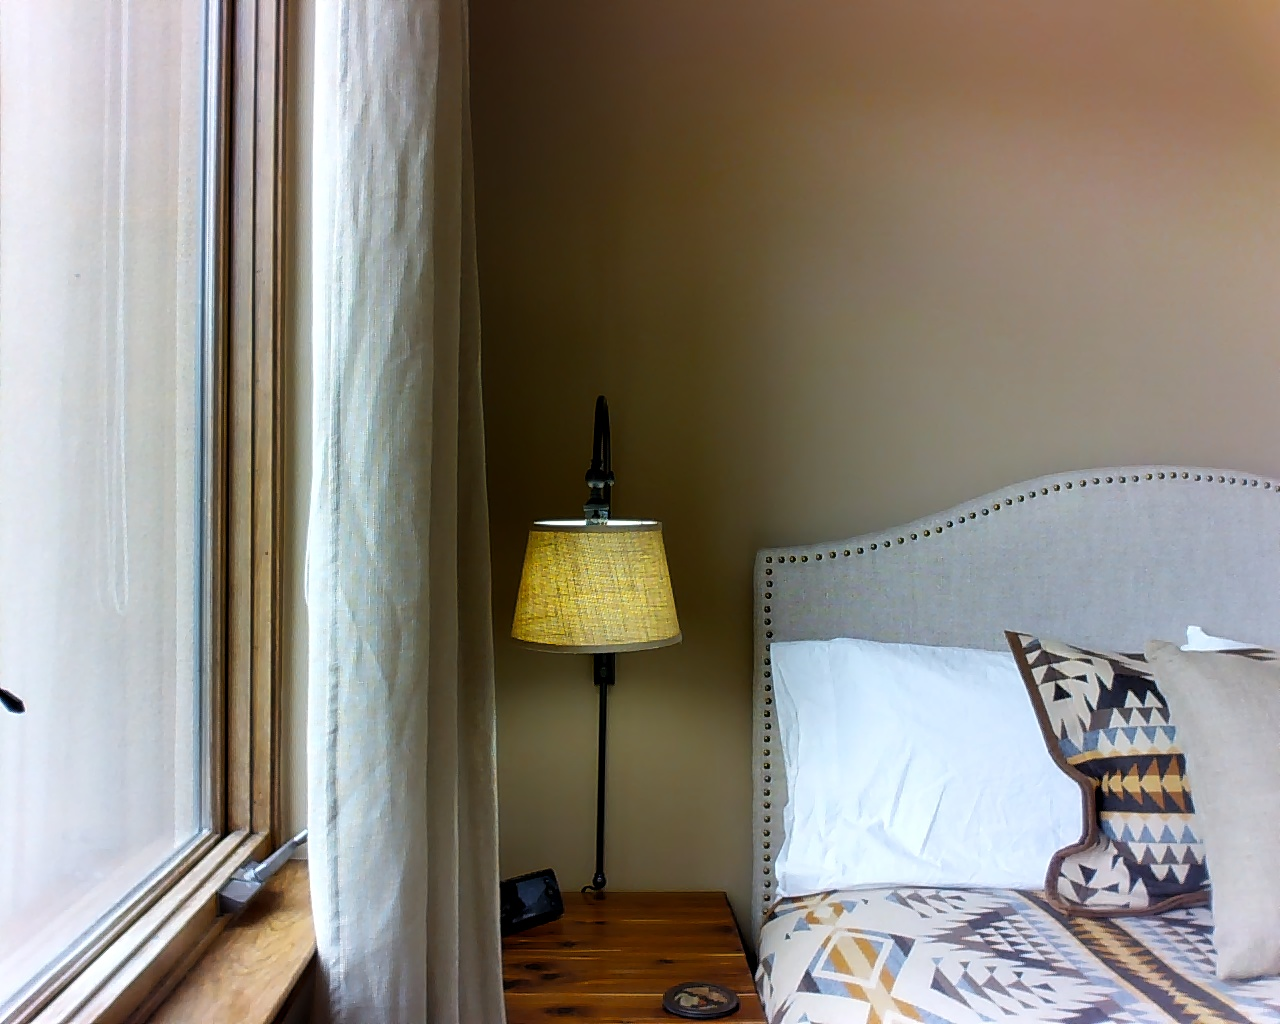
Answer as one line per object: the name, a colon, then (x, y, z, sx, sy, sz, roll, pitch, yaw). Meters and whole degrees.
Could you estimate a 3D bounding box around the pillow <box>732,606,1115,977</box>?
pillow: (0.460, 0.450, 1.800, 0.480, 0.430, 0.150, 22, -1, 8)

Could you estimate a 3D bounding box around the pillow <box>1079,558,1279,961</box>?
pillow: (0.990, 0.400, 1.500, 0.500, 0.480, 0.210, 29, -1, -3)

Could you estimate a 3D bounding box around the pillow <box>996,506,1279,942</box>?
pillow: (1.010, 0.390, 1.670, 0.730, 0.490, 0.130, 32, -2, -3)
